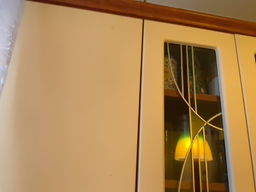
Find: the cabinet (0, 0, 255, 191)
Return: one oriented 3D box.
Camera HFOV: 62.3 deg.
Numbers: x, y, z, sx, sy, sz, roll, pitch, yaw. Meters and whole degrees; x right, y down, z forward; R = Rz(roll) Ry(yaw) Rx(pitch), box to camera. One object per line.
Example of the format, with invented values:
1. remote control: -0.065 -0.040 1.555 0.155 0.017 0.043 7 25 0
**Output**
1. cabinet: 0.330 0.150 0.720 1.340 0.790 0.340 6 -20 -8
